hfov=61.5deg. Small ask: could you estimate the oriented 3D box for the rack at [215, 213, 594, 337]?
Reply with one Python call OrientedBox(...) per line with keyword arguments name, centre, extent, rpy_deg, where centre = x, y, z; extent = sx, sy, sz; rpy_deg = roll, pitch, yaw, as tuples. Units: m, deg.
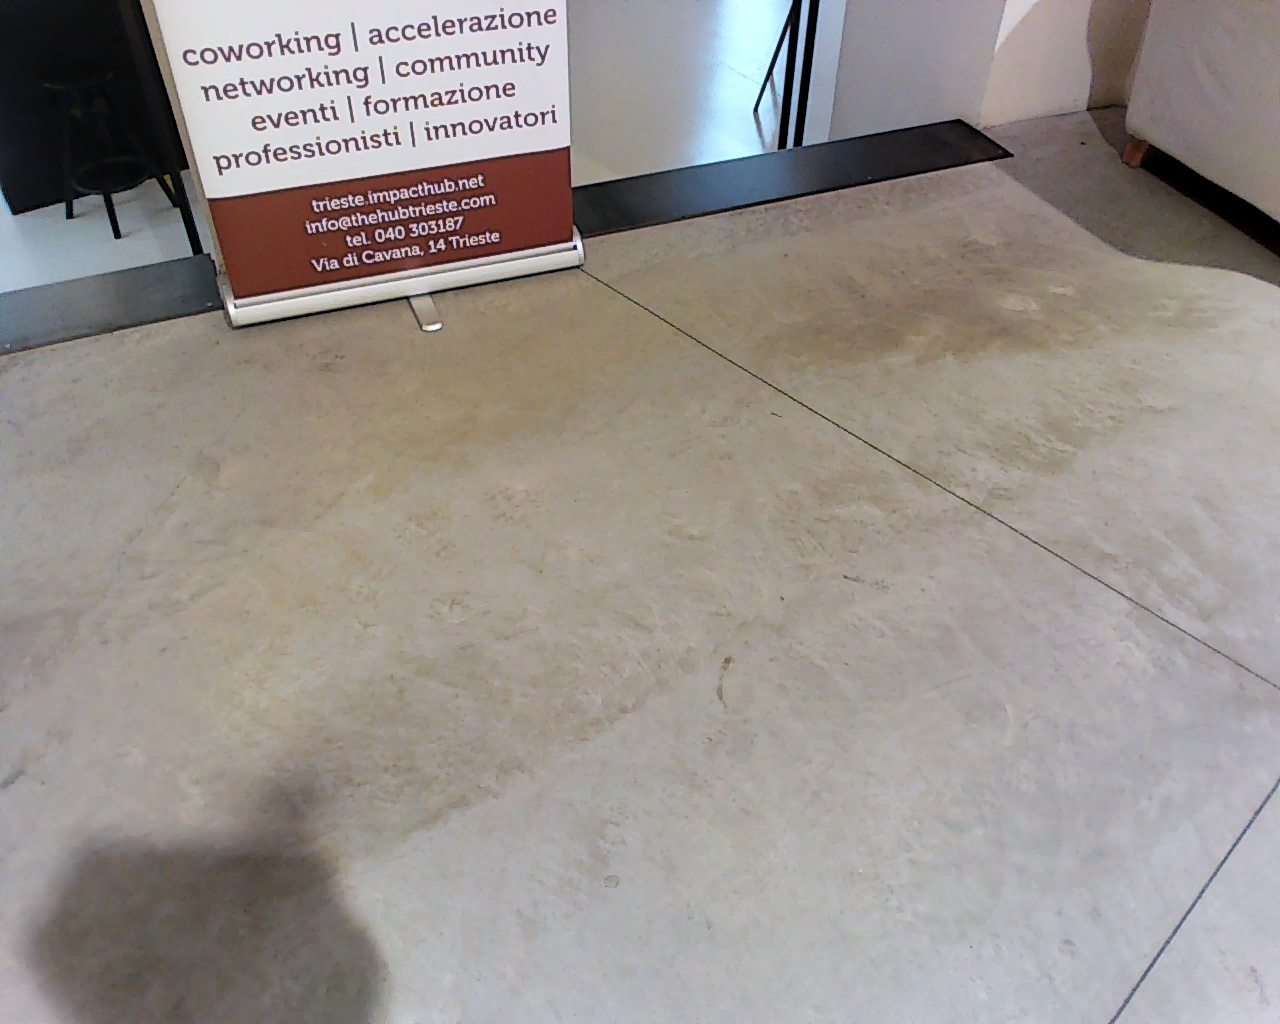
OrientedBox(name="rack", centre=(-0.580, -0.610, 2.730), extent=(0.930, 0.090, 0.140), rpy_deg=(-14, 46, -15))
